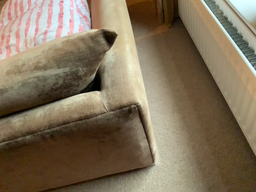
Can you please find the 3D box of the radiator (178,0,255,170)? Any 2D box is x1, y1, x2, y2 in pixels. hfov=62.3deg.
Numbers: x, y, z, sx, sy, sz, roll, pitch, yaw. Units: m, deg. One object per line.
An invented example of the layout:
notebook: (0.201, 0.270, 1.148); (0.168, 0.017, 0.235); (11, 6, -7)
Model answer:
radiator: (0.500, -0.130, 1.060); (0.090, 0.360, 1.450); (-16, 52, 7)
